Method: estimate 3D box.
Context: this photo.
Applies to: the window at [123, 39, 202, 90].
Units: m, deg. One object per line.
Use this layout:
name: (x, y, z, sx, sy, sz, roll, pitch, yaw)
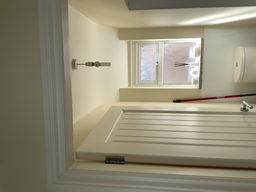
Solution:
window: (0.420, -0.400, 2.690, 0.140, 0.950, 0.620, -20, -68, -83)
